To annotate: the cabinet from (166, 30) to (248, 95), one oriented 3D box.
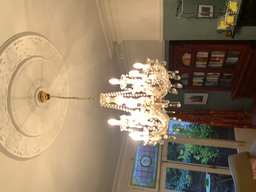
[{"bbox_3d":[1.330,-0.580,3.890,1.230,1.190,0.350,80,-162,-50],"label":"cabinet"}]
